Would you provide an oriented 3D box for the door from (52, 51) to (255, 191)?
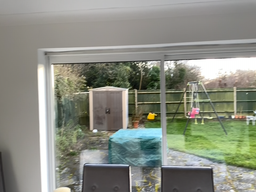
[{"bbox_3d":[0.390,0.570,2.260,2.450,2.010,0.070,-1,1,8],"label":"door"}]
